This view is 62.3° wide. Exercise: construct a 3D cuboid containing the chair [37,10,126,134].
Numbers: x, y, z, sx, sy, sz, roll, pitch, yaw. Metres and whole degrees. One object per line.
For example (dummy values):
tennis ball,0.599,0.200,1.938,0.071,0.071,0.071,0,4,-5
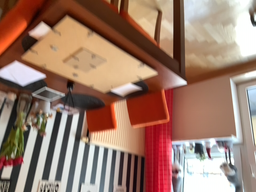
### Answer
chair,-0.390,-0.190,2.020,0.380,0.950,0.580,-17,150,41
